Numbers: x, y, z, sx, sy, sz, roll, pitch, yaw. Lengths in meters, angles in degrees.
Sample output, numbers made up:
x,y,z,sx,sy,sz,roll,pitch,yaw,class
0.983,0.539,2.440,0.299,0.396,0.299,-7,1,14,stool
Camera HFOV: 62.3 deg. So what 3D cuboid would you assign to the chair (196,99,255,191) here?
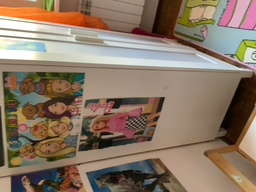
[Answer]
x,y,z,sx,sy,sz,roll,pitch,yaw,class
0.660,0.230,1.010,0.300,0.490,0.320,48,131,50,chair
